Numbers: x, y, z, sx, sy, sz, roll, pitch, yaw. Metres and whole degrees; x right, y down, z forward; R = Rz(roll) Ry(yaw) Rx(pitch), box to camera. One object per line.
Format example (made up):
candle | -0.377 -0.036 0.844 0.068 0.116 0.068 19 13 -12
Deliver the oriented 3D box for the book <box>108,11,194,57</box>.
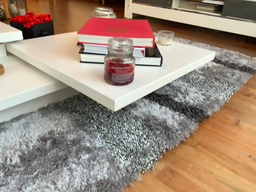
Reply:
book | 0.080 -0.270 0.880 0.290 0.100 0.310 3 30 0

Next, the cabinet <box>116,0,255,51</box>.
cabinet | 0.800 -1.040 2.450 2.160 0.570 0.480 26 37 34
